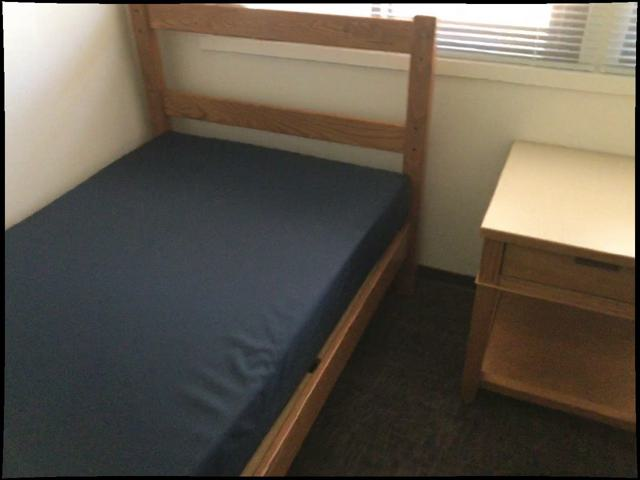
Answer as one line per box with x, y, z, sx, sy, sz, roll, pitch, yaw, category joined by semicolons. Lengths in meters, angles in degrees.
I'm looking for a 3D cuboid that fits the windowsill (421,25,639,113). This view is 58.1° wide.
1.087;-0.351;1.410;1.687;0.140;0.080;14;38;19;windowsill

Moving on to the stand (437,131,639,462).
0.698;0.130;1.580;0.569;0.601;0.520;14;38;19;stand
